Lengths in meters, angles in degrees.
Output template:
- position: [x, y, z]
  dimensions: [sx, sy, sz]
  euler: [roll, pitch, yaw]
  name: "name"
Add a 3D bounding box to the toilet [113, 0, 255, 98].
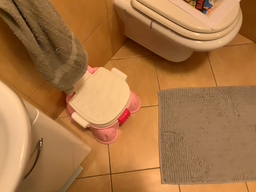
- position: [0.260, -0.360, 1.110]
  dimensions: [0.530, 0.470, 0.380]
  euler: [35, 74, 13]
  name: "toilet"
